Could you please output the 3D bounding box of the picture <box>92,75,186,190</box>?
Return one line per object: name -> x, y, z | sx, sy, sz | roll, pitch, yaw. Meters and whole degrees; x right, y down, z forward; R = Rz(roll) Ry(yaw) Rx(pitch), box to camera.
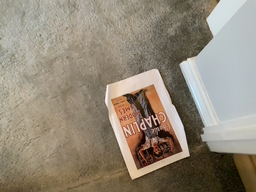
picture -> 0.030, 0.100, 0.650 | 0.210, 0.010, 0.300 | -15, 79, -7
